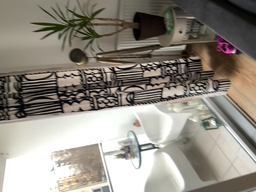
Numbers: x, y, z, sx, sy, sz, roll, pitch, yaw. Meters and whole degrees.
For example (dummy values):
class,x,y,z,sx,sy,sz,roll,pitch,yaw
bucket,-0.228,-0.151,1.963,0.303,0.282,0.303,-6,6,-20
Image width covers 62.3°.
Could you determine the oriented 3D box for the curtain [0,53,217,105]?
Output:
class,x,y,z,sx,sy,sz,roll,pitch,yaw
curtain,-0.330,-0.200,2.100,0.410,2.620,0.100,-115,25,-43
